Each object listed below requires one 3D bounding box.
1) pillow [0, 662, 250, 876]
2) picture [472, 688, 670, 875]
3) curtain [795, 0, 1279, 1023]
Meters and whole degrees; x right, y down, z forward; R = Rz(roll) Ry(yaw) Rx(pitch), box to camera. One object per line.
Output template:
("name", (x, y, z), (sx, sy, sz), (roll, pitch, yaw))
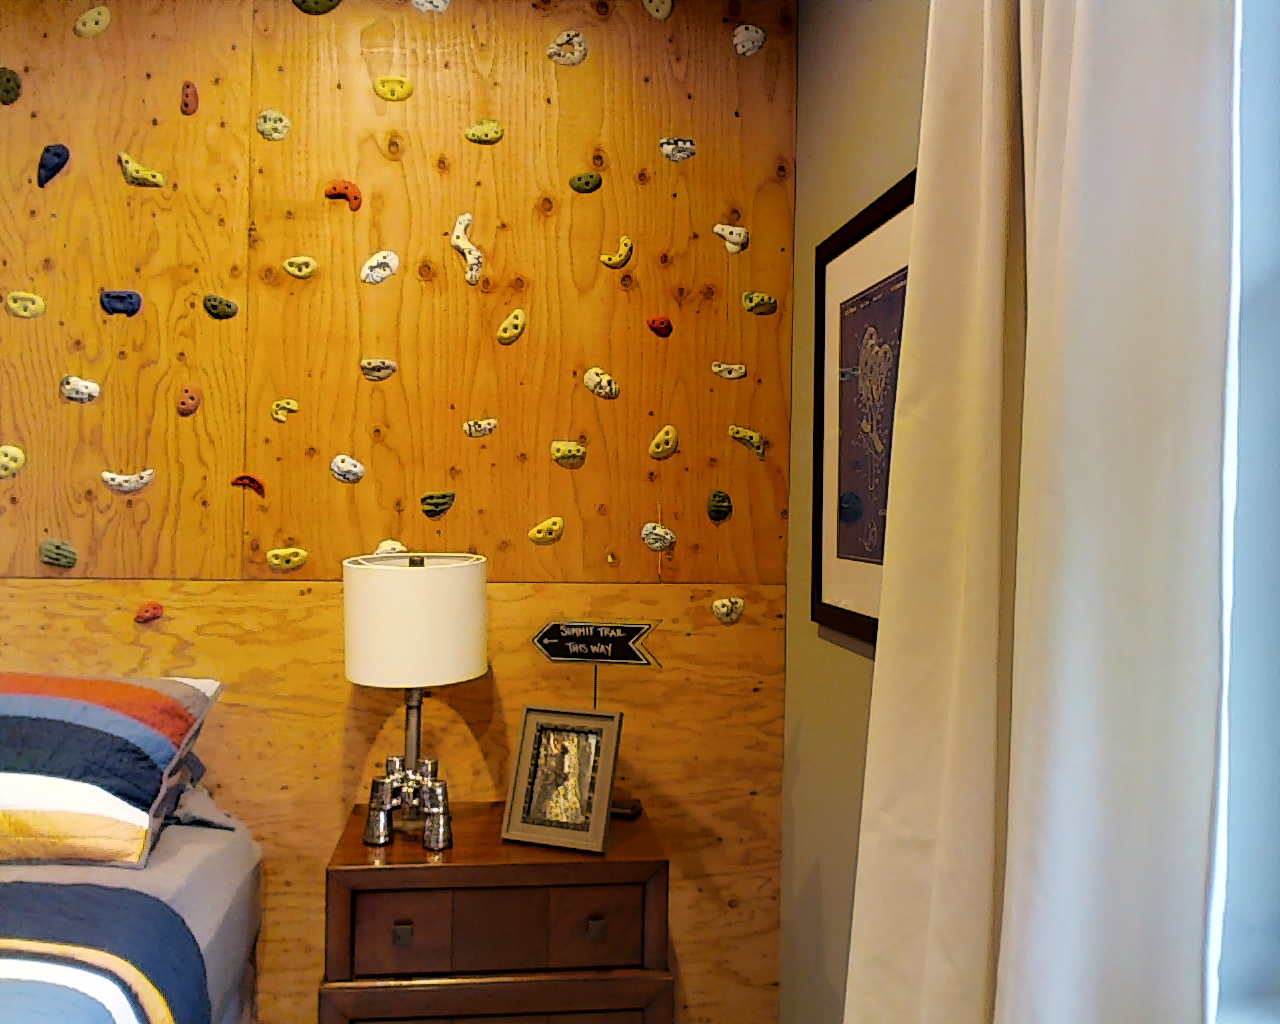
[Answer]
("pillow", (-1.060, 0.450, 1.980), (0.540, 0.280, 0.500), (1, -1, -8))
("picture", (-0.130, 0.510, 2.060), (0.290, 0.250, 0.120), (19, -3, 15))
("curtain", (0.400, 0.060, 1.190), (0.220, 2.650, 0.510), (5, -1, -9))
